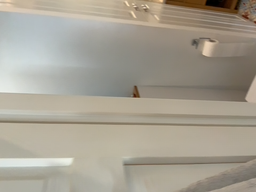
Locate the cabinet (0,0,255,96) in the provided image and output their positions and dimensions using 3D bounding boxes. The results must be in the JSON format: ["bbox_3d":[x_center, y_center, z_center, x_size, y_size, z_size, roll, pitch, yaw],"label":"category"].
[{"bbox_3d":[-0.230,-0.490,1.730,0.780,2.860,0.490,-105,21,-55],"label":"cabinet"}]
